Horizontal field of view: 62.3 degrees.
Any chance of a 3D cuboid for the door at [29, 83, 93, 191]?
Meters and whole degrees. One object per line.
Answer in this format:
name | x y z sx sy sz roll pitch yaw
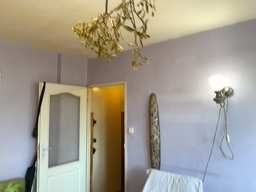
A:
door | -0.950 0.810 3.180 0.110 1.910 0.980 -3 -5 39
